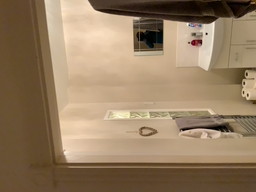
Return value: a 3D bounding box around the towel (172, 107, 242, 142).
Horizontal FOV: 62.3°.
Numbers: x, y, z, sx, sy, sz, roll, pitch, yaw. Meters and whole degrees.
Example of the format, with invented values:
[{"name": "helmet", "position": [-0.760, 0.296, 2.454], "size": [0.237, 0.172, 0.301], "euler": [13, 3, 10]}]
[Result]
[{"name": "towel", "position": [0.710, 0.260, 2.010], "size": [0.430, 0.510, 0.180], "euler": [-79, -13, -77]}]
